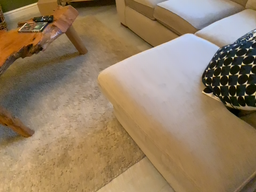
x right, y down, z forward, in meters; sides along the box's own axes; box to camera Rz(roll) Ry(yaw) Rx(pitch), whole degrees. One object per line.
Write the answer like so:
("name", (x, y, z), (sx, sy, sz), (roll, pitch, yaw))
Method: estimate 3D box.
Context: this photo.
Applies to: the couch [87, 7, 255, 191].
("couch", (0.390, 0.050, 1.220), (0.810, 0.610, 0.910), (-28, 50, -21))
